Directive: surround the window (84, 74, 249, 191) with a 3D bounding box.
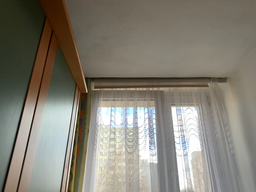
[{"bbox_3d":[0.270,0.570,1.570,1.140,1.550,0.170,2,-25,-4],"label":"window"}]
